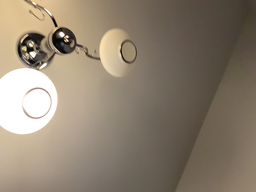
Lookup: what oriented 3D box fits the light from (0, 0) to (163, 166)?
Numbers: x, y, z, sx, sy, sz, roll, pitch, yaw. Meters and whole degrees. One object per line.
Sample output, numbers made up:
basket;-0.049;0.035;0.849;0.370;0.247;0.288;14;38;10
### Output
light;-0.250;-0.230;0.690;0.350;0.630;0.490;9;-44;41
